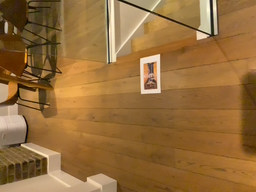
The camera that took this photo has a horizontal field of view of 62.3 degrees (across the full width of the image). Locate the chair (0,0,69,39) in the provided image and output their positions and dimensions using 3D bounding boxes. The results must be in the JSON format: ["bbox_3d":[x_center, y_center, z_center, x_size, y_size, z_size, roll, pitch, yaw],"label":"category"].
[{"bbox_3d":[-1.240,-1.010,2.740,0.470,0.750,0.390,20,105,45],"label":"chair"}]
